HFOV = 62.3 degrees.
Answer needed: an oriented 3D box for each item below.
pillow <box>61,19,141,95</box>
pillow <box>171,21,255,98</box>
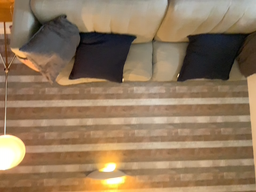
[{"bbox_3d":[-0.270,-0.390,2.140,0.590,0.490,0.220,-36,177,-16],"label":"pillow"},{"bbox_3d":[0.860,-0.380,2.180,0.620,0.510,0.130,-41,167,-5],"label":"pillow"}]
